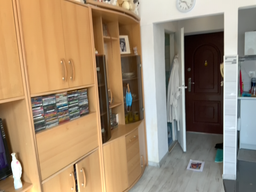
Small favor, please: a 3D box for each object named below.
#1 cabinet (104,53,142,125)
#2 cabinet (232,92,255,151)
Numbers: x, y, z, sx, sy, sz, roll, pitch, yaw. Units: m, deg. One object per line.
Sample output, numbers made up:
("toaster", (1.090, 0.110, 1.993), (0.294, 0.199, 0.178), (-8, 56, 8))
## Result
("cabinet", (-0.060, -0.110, 2.960), (0.360, 0.930, 0.340), (2, 10, 28))
("cabinet", (2.150, 0.400, 3.390), (0.840, 0.840, 0.480), (2, 10, 29))
